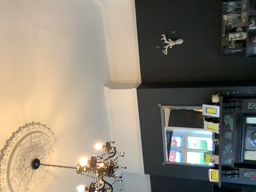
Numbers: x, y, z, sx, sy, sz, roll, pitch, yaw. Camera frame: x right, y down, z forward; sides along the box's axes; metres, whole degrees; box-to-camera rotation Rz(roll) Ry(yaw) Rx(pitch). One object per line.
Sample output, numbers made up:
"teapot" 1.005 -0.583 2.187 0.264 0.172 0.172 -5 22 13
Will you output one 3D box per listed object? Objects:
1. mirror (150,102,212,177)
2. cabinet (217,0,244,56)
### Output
"mirror" 0.930 0.770 3.710 0.110 0.980 1.360 -50 -44 -65
"cabinet" 1.460 -1.060 3.040 0.310 0.290 0.930 -41 -51 -67
